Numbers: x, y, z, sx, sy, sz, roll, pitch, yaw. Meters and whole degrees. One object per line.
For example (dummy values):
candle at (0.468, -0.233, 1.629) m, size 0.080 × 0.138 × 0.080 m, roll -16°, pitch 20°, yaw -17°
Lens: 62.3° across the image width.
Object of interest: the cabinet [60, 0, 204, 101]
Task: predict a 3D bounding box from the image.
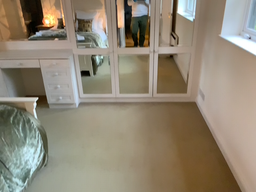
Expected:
cabinet at (0.050, -1.060, 2.830) m, size 1.760 × 2.350 × 0.310 m, roll -1°, pitch 26°, yaw 2°

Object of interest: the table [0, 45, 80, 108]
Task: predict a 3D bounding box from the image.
table at (-1.450, -0.290, 3.130) m, size 1.290 × 0.790 × 0.480 m, roll -1°, pitch 26°, yaw 2°
